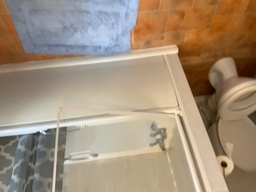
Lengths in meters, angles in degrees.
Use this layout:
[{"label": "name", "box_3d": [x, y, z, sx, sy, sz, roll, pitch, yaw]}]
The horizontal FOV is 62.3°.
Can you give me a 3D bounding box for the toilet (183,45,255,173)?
[{"label": "toilet", "box_3d": [0.850, 0.120, 1.800, 0.400, 0.800, 0.690, -6, 145, -5]}]
